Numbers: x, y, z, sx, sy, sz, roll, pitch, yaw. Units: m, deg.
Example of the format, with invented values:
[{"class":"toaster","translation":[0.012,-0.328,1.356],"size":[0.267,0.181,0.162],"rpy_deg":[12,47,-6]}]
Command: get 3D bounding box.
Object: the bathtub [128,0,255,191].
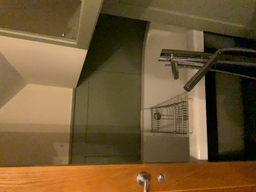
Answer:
[{"class":"bathtub","translation":[0.470,0.000,1.580],"size":[0.810,0.710,1.820],"rpy_deg":[155,117,-71]}]
